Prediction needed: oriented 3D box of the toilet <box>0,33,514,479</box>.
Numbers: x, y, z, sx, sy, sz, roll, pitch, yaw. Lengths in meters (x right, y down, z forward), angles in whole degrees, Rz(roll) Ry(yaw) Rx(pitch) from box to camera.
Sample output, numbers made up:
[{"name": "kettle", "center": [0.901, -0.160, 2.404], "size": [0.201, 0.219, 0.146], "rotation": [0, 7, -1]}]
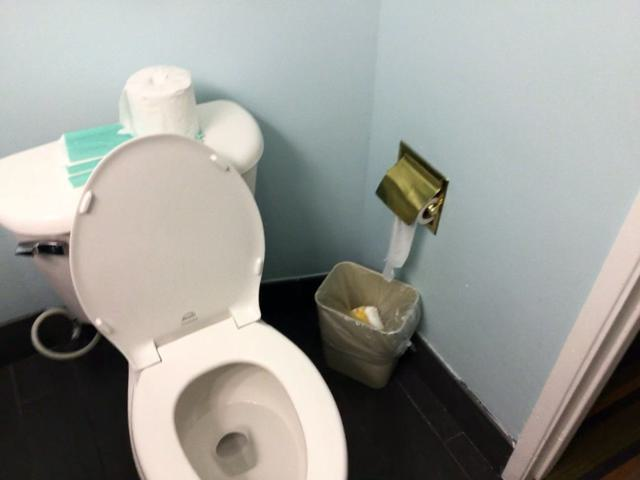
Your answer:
[{"name": "toilet", "center": [-0.180, 0.220, 1.080], "size": [0.530, 0.850, 0.740], "rotation": [-23, 46, -20]}]

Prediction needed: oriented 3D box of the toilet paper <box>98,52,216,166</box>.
[{"name": "toilet paper", "center": [-0.280, -0.230, 1.000], "size": [0.140, 0.110, 0.140], "rotation": [-23, 46, -20]}]

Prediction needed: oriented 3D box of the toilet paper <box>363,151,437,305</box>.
[{"name": "toilet paper", "center": [0.170, -0.020, 1.290], "size": [0.090, 0.320, 0.130], "rotation": [-23, 46, -20]}]

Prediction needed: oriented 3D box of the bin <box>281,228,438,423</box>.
[{"name": "bin", "center": [0.090, 0.210, 1.480], "size": [0.230, 0.280, 0.340], "rotation": [-23, 46, -20]}]
